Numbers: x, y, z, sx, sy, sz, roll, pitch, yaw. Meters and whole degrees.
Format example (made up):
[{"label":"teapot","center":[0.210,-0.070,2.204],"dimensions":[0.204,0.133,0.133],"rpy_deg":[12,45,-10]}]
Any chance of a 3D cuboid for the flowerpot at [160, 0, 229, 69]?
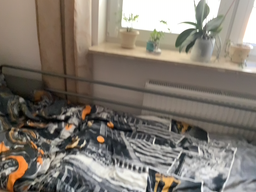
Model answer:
[{"label":"flowerpot","center":[0.410,-0.430,1.380],"dimensions":[0.320,0.410,0.220],"rpy_deg":[10,25,8]}]
